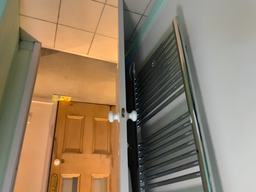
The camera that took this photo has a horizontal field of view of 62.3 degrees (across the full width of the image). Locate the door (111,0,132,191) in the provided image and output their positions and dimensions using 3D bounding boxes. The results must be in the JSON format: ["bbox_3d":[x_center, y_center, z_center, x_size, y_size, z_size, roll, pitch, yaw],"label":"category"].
[{"bbox_3d":[-0.050,0.350,1.480,0.080,1.780,1.080,-1,152,-2],"label":"door"}]
